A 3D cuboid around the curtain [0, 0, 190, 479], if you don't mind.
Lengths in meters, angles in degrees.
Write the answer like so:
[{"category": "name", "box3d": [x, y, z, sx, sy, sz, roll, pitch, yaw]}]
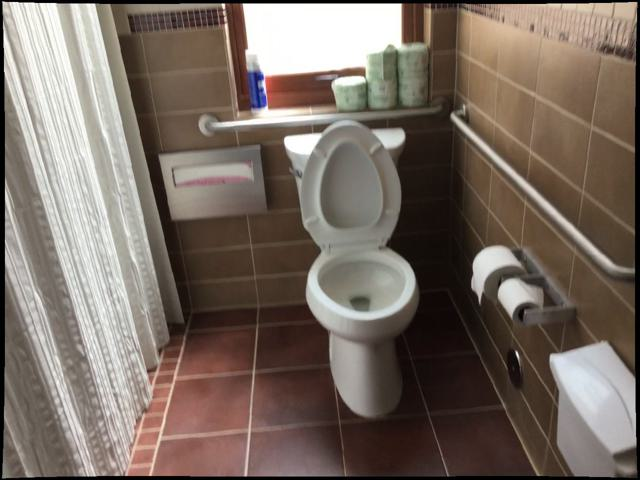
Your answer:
[{"category": "curtain", "box3d": [-0.708, -0.170, 1.570, 0.160, 1.914, 1.481, -4, 28, -1]}]
